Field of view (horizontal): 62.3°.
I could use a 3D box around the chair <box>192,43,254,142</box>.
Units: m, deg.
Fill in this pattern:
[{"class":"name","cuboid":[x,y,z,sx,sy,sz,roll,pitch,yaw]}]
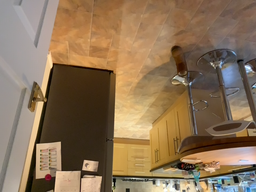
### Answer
[{"class":"chair","cuboid":[0.920,-0.020,2.080,0.380,0.820,0.400,-12,152,25]}]
